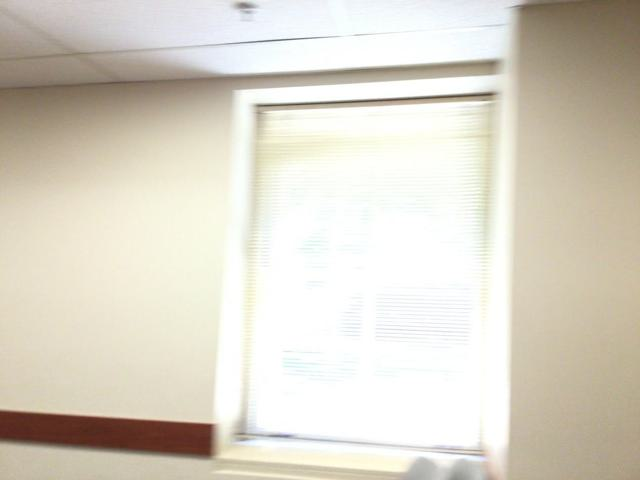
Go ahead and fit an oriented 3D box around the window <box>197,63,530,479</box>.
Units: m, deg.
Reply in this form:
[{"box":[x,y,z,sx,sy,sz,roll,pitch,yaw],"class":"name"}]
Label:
[{"box":[0.210,0.140,2.730,1.320,1.790,0.520,3,-3,10],"class":"window"}]
